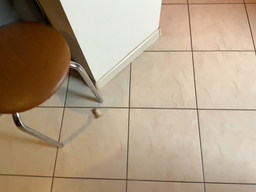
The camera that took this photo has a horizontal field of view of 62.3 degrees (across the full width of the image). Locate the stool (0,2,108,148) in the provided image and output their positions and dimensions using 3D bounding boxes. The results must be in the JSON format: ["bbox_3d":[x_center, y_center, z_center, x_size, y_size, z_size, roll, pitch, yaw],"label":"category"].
[{"bbox_3d":[-0.330,-0.040,0.880,0.310,0.470,0.310,-41,72,-13],"label":"stool"}]
